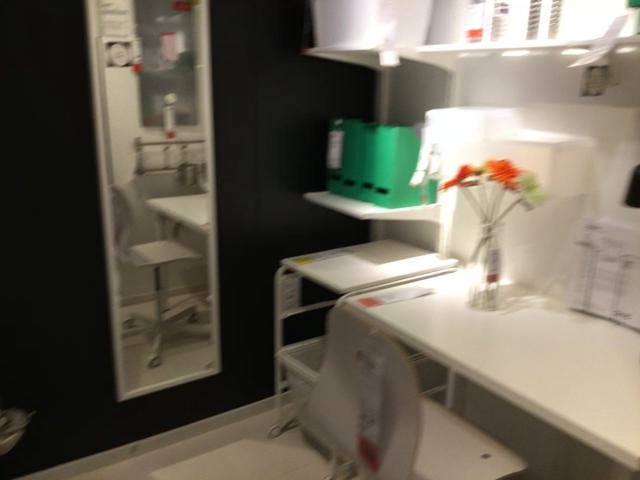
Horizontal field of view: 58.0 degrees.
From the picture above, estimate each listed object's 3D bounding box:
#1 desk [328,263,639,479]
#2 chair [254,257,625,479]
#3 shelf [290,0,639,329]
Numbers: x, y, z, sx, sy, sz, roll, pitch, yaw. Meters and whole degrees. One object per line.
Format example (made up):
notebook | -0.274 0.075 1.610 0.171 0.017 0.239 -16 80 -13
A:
desk | 0.580 0.600 1.730 0.620 0.750 1.080 -7 16 -30
chair | 0.250 0.590 1.510 0.630 0.900 0.620 -7 16 -30
shelf | 0.480 -0.490 1.760 0.460 1.010 1.550 -7 16 -30
